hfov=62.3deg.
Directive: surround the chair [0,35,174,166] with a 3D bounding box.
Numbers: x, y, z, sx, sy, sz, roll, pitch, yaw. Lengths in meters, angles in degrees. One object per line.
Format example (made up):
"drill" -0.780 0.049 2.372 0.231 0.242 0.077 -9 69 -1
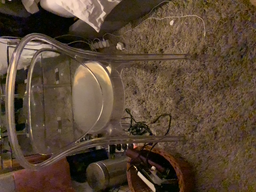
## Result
"chair" -0.190 0.010 1.060 0.400 0.810 0.400 3 92 50
